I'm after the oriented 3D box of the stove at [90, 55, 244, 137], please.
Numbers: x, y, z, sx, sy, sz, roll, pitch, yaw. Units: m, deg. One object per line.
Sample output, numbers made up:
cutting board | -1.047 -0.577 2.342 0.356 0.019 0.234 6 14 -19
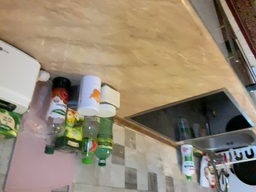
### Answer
stove | 0.230 0.070 1.100 0.530 0.030 0.660 -22 146 33
